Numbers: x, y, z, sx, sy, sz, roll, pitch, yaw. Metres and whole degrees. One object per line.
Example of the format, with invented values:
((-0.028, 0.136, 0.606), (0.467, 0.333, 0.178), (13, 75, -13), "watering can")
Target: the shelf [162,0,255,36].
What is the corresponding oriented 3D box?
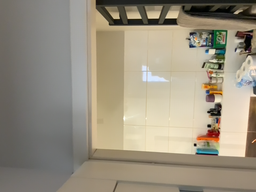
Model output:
((0.870, -0.480, 1.210), (0.550, 1.300, 0.200), (-58, -31, -80), "shelf")
